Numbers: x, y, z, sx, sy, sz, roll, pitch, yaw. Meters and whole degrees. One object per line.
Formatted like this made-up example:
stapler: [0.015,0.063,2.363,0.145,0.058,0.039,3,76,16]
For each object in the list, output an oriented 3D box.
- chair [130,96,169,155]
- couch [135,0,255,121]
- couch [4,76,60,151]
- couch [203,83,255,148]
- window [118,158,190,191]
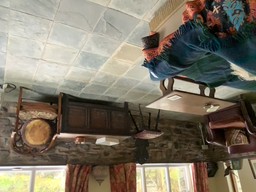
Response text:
chair: [0.330,0.510,3.500,0.350,0.850,0.530,7,156,-24]
couch: [0.940,-0.410,1.290,1.450,0.860,0.970,8,156,-28]
couch: [-1.220,0.260,2.710,0.530,0.780,0.570,8,156,-27]
couch: [1.830,0.370,3.490,0.840,0.800,0.690,16,151,-41]
window: [0.550,1.800,3.900,1.530,1.240,0.100,9,155,-29]
